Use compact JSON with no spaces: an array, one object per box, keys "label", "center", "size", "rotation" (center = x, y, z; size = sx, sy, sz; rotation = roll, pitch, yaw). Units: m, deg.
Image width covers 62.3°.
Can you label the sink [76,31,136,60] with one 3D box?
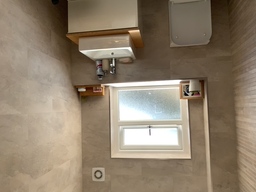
[{"label":"sink","center":[-0.180,-0.460,2.000],"size":[0.460,0.120,0.460],"rotation":[-2,178,10]}]

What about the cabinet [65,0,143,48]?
[{"label":"cabinet","center":[-0.200,-0.900,2.010],"size":[0.620,0.720,0.490],"rotation":[-2,178,10]}]
